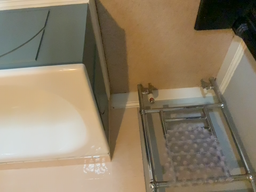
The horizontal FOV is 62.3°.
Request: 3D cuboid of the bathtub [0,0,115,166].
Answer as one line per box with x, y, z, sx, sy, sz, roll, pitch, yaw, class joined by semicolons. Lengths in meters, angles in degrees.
-0.940;-0.010;1.090;1.660;0.510;0.820;-5;144;-1;bathtub
